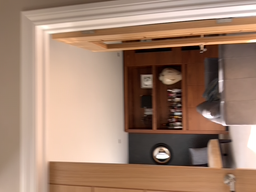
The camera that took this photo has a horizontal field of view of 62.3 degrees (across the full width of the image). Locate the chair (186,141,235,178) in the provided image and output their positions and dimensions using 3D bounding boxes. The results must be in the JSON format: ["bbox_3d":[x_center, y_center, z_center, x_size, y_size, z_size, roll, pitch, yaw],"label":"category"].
[{"bbox_3d":[1.750,1.390,4.670,0.920,0.800,0.670,60,-149,-71],"label":"chair"}]
